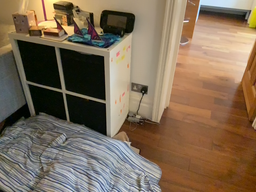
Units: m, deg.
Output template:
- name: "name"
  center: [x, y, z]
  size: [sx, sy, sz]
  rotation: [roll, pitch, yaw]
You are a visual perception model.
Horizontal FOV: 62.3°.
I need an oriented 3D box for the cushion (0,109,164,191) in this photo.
- name: "cushion"
  center: [-0.390, 0.460, 1.380]
  size: [1.100, 0.150, 0.550]
  rotation: [17, 38, 20]
